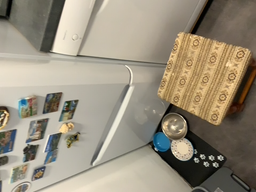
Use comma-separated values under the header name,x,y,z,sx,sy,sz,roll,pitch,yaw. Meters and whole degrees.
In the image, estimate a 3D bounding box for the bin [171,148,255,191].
name,x,y,z,sx,sy,sz,roll,pitch,yaw
bin,0.440,0.540,1.070,0.320,0.510,0.290,37,115,32
